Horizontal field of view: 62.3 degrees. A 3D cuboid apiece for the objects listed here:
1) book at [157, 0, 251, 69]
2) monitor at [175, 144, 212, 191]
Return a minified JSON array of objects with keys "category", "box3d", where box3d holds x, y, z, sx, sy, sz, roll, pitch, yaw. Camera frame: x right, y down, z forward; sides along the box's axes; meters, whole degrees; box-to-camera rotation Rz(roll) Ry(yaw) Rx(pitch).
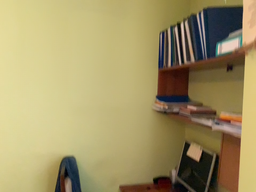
[{"category":"book","box3d":[0.480,-0.400,1.540,0.290,0.340,0.720,2,2,-12]},{"category":"monitor","box3d":[0.500,0.580,1.680,0.050,0.390,0.440,3,-12,-12]}]
